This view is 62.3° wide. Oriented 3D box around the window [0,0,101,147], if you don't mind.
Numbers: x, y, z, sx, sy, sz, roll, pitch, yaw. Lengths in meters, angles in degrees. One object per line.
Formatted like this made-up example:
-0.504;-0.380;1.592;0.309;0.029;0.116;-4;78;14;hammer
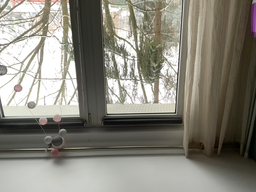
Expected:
-1.010;-0.390;1.670;1.460;1.520;0.450;0;-161;1;window
